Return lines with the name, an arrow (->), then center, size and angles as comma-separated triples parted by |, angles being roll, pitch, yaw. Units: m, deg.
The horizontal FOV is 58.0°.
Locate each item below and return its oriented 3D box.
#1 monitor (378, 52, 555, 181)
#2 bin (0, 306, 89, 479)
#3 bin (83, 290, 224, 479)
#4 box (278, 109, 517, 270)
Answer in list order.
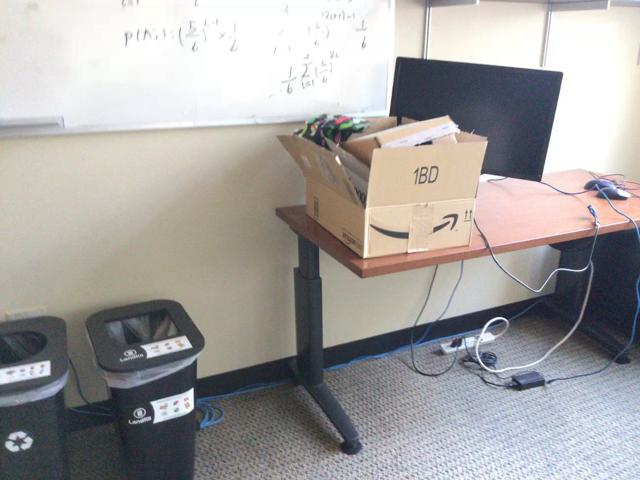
monitor -> 0.500, -0.410, 1.990 | 0.560, 0.380, 0.120 | 2, 19, 28
bin -> -0.890, 0.540, 1.730 | 0.310, 0.500, 0.520 | -8, 16, -23
bin -> -0.550, 0.500, 1.870 | 0.320, 0.500, 0.520 | -8, 16, -23
box -> 0.210, -0.210, 1.870 | 0.480, 0.390, 0.650 | -8, 16, -23
